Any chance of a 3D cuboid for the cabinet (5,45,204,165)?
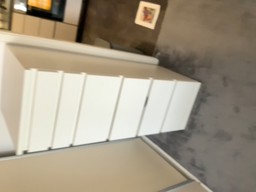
[{"bbox_3d":[-0.080,0.020,1.410,0.430,1.200,0.440,34,116,45],"label":"cabinet"}]
